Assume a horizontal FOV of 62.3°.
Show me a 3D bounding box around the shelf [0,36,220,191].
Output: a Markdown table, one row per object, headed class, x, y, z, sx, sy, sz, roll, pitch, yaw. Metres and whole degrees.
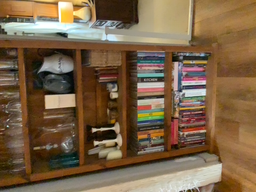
| class | x | y | z | sx | sy | sz | roll | pitch | yaw |
| --- | --- | --- | --- | --- | --- | --- | --- | --- | --- |
| shelf | -0.210 | 0.090 | 1.700 | 0.360 | 2.020 | 0.980 | -162 | 71 | -67 |
